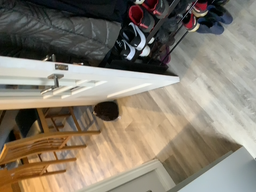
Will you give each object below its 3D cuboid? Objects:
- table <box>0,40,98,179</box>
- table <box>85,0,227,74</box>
[{"bbox_3d":[-1.250,0.260,2.520,1.630,0.900,0.680,-50,60,31],"label":"table"},{"bbox_3d":[0.230,-0.600,1.360,0.880,0.560,0.370,-50,60,31],"label":"table"}]
